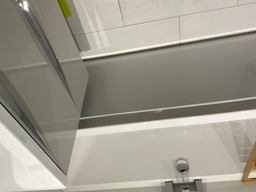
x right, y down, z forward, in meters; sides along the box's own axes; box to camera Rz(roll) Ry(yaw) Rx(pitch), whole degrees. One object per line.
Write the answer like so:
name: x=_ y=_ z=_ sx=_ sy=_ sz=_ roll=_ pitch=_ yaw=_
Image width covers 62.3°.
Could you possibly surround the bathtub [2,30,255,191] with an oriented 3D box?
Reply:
bathtub: x=0.290 y=0.130 z=1.320 sx=1.660 sy=0.560 sz=0.690 roll=-8 pitch=135 yaw=8
